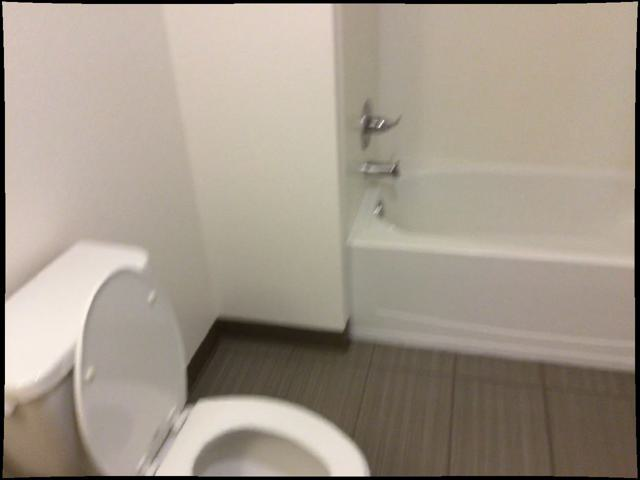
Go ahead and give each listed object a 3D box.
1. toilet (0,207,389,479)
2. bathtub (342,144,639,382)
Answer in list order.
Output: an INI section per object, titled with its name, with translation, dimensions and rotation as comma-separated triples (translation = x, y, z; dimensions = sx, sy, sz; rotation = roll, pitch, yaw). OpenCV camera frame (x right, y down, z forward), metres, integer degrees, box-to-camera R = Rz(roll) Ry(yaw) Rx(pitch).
[toilet]
translation = -0.260, 0.440, 1.310
dimensions = 0.749, 0.851, 0.470
rotation = 5, 35, 11
[bathtub]
translation = 0.879, 0.050, 2.200
dimensions = 1.469, 0.450, 0.780
rotation = 5, 35, 11
